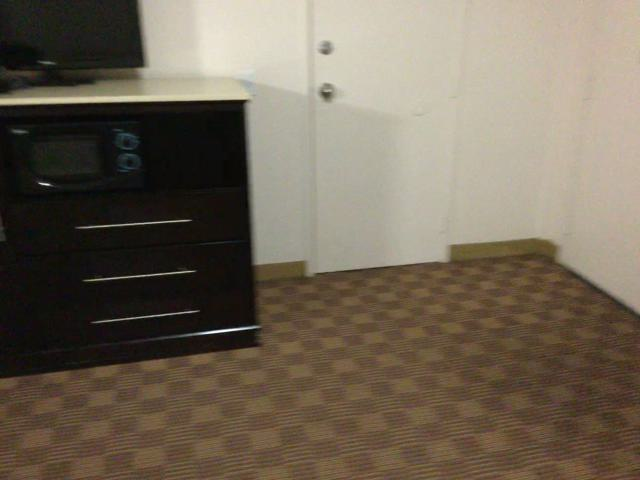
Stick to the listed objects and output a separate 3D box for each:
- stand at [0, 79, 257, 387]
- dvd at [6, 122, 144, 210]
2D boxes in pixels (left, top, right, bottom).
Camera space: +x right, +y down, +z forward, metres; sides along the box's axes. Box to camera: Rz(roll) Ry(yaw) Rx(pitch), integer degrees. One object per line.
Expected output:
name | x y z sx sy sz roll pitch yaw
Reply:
stand | -1.080 -0.080 2.460 1.480 1.080 0.730 -5 19 -12
dvd | -0.880 -0.280 2.130 0.420 0.270 0.200 -5 20 -15
